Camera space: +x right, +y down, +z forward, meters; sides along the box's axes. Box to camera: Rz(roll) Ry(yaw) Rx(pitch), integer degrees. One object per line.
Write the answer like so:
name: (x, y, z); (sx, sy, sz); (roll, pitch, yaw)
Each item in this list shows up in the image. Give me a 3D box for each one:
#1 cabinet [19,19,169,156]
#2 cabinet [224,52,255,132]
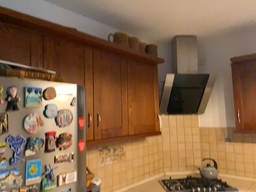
cabinet: (-0.170, -0.020, 1.910); (0.370, 0.820, 1.400); (-5, -6, 42)
cabinet: (1.350, -0.030, 2.330); (0.420, 0.820, 0.320); (-5, -6, 42)
